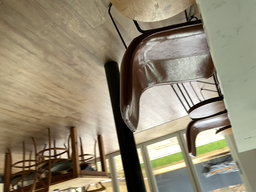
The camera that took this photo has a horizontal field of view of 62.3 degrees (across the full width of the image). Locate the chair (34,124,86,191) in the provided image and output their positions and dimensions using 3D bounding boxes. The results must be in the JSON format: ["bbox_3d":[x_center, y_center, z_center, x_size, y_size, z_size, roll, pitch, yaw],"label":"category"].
[{"bbox_3d":[-1.040,0.960,3.210,0.470,0.890,0.520,-25,151,22],"label":"chair"}]

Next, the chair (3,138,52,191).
[{"bbox_3d":[-1.630,1.230,3.480,0.470,0.890,0.520,-25,151,22],"label":"chair"}]
